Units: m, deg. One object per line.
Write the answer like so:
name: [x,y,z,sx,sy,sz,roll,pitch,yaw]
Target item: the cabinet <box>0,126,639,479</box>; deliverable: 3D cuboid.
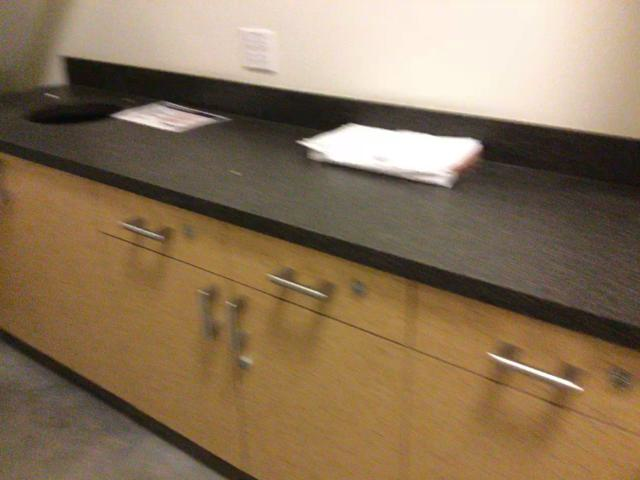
cabinet: [-0.200,0.300,1.430,2.850,0.860,0.190,15,28,31]
